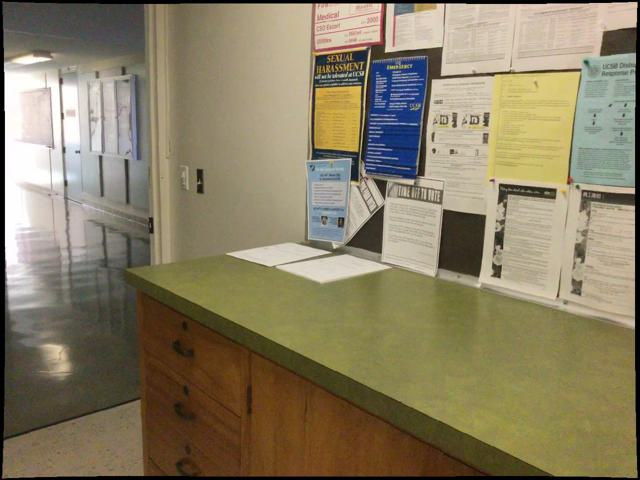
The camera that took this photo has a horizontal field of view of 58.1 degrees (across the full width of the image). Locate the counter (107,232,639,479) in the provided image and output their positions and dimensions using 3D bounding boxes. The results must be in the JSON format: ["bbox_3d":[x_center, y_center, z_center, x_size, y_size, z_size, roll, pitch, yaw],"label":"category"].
[{"bbox_3d":[1.127,0.401,0.310,0.699,0.140,4.525,-10,15,-41],"label":"counter"}]
